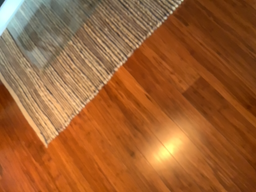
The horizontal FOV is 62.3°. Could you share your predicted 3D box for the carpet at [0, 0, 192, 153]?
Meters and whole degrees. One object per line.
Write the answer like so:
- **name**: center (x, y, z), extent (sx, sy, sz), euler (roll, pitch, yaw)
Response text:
- **carpet**: center (-0.280, -0.520, 1.380), extent (1.630, 0.040, 0.930), euler (-46, 72, 14)
